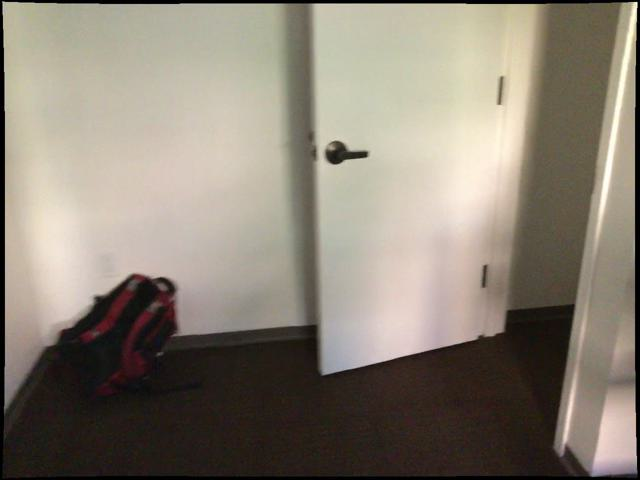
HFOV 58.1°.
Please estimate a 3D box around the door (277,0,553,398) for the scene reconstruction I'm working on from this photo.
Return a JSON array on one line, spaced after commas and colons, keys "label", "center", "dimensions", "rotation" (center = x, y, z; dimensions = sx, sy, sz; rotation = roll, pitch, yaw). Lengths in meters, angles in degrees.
[{"label": "door", "center": [0.389, -0.411, 2.250], "dimensions": [1.028, 1.985, 0.200], "rotation": [-10, 21, -20]}]
